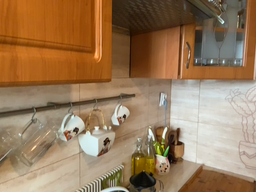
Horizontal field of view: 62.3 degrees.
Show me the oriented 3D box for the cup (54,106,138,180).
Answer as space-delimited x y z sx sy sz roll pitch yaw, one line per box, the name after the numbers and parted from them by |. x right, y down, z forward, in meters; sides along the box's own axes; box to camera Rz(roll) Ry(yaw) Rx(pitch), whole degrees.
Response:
-0.120 0.180 0.970 0.120 0.210 0.420 6 8 35 | cup
